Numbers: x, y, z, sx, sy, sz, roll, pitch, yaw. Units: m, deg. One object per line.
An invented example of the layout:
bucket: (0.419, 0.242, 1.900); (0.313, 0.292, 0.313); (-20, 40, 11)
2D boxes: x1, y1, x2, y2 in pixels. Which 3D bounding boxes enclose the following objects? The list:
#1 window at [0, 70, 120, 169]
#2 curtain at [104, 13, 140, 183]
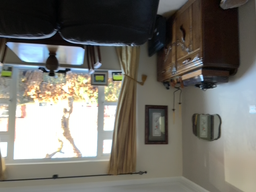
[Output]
window: (-1.200, 0.370, 3.500); (2.180, 1.500, 0.120); (1, 176, -17)
curtain: (-0.100, 0.010, 3.400); (0.500, 2.550, 0.310); (1, 176, -17)
